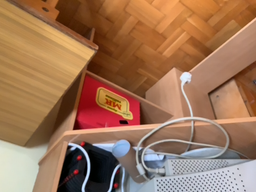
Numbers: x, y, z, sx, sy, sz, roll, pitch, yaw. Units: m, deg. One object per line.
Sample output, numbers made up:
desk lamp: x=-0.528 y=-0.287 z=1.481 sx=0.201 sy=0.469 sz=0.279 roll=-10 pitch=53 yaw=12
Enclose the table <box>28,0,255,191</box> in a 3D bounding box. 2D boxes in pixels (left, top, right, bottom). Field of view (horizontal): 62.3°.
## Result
table: x=0.210 y=-0.010 z=1.070 sx=0.890 sy=0.740 sz=0.950 roll=26 pitch=133 yaw=-25
